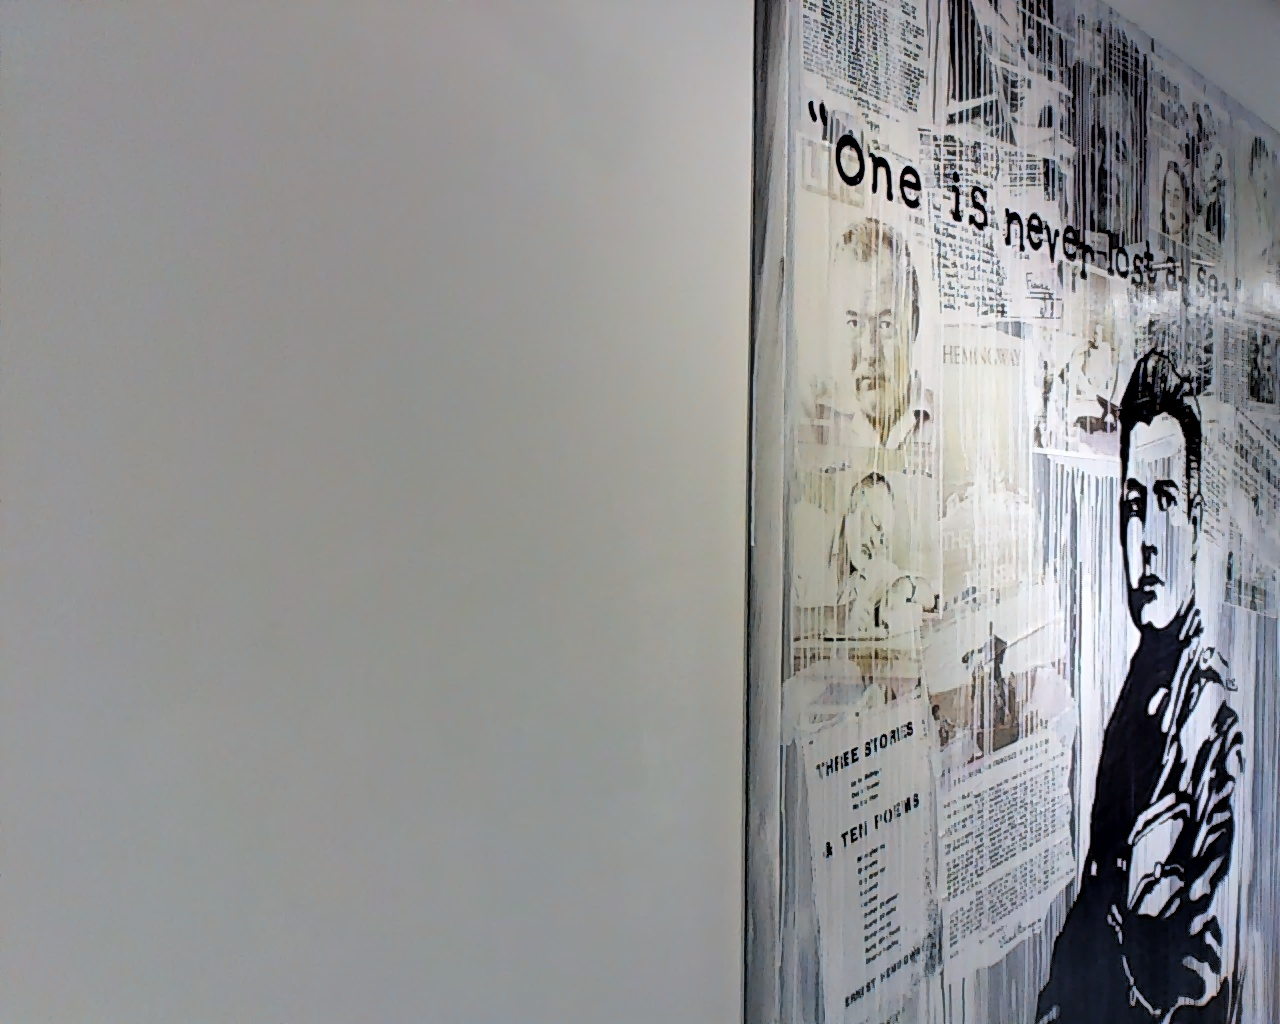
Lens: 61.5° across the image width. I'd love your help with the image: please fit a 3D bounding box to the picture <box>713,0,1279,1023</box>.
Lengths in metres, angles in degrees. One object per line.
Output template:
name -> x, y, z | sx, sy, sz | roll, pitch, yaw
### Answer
picture -> 0.560, 0.170, 1.280 | 1.280, 1.640, 0.050 | 2, -1, -41
